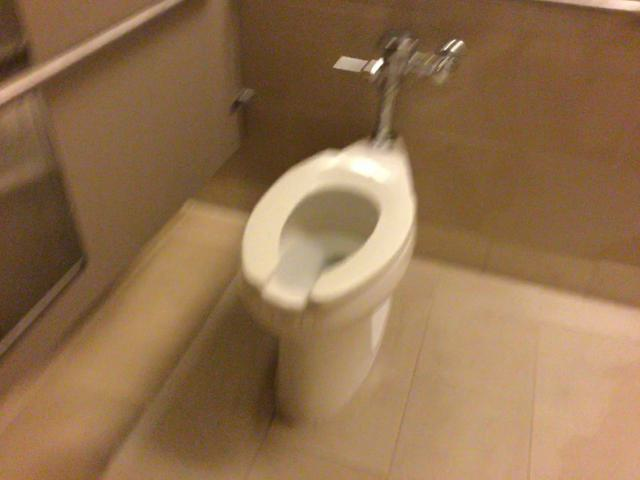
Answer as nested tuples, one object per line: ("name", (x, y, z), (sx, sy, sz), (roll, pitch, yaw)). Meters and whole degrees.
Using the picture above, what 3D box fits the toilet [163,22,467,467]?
("toilet", (0.050, -0.030, 1.410), (0.390, 0.730, 0.740), (12, 40, 16))
